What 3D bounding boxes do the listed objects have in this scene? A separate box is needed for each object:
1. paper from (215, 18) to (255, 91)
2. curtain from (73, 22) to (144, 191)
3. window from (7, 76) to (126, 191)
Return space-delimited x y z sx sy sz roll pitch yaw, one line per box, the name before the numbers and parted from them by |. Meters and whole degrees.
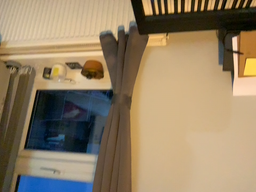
paper | 0.590 -0.200 1.000 0.240 0.240 0.130 -30 152 8
curtain | -0.090 0.300 0.990 0.240 1.400 0.160 1 162 12
window | -0.450 0.470 1.520 0.770 1.310 0.060 1 162 11
